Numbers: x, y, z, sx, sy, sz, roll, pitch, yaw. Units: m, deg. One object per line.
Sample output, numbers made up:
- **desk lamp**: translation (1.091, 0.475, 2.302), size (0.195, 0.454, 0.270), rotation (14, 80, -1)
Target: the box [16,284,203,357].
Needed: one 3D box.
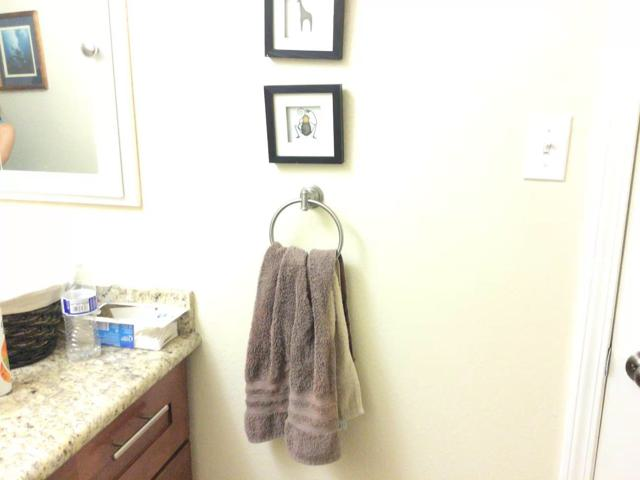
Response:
- **box**: translation (-0.460, 0.170, 1.270), size (0.370, 0.090, 0.140), rotation (2, 13, 18)
